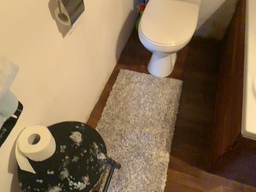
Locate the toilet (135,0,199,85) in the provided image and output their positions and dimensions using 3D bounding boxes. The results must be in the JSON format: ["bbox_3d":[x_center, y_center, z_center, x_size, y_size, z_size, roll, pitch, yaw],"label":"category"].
[{"bbox_3d":[0.280,-0.540,1.480,0.320,0.700,0.560,13,57,11],"label":"toilet"}]
